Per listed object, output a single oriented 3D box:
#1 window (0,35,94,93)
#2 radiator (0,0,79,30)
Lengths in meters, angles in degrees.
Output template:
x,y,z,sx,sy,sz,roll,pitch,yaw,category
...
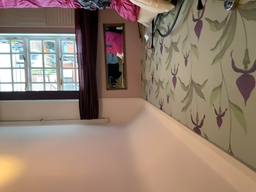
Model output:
x,y,z,sx,sy,sz,roll,pitch,yaw,category
-1.630,-0.610,4.110,1.880,1.080,0.100,-1,-174,-5,window
-1.680,-1.580,3.750,1.560,0.760,0.080,-1,-174,-5,radiator
